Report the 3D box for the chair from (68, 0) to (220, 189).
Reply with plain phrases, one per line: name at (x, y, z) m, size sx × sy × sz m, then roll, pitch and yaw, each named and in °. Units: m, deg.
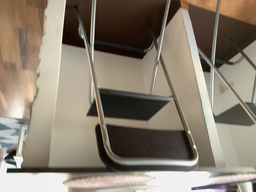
chair at (-0.020, -0.090, 1.150) m, size 0.450 × 1.030 × 0.590 m, roll 7°, pitch 151°, yaw -20°
